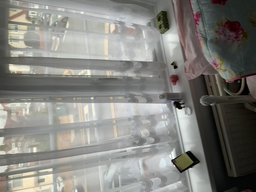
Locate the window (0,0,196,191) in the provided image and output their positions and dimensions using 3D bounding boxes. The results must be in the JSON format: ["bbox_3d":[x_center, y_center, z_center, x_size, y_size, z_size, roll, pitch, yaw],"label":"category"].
[{"bbox_3d":[-0.320,0.070,1.040,0.040,1.470,1.560,-27,69,59],"label":"window"}]
